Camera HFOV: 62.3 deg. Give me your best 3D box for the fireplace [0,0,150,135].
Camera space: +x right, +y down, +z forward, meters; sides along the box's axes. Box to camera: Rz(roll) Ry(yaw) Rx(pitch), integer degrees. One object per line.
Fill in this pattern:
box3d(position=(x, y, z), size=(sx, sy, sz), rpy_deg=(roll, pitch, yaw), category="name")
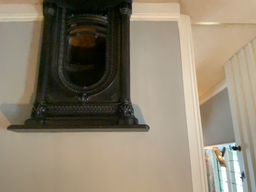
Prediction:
box3d(position=(-0.270, -0.230, 1.390), size=(0.740, 0.910, 0.460), rpy_deg=(-1, 165, 0), category="fireplace")
